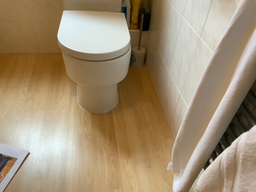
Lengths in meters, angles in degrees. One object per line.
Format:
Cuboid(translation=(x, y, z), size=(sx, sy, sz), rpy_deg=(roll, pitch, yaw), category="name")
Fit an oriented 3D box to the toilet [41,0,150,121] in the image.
Cuboid(translation=(-0.190, -0.400, 1.190), size=(0.390, 0.800, 0.700), rpy_deg=(-3, 43, -10), category="toilet")
